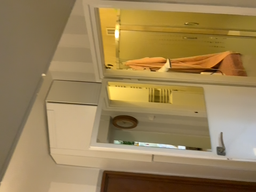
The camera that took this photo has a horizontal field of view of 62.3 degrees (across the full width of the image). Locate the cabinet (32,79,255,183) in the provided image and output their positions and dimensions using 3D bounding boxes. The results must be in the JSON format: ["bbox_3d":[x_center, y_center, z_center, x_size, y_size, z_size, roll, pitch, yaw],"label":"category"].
[{"bbox_3d":[0.530,0.370,1.980,0.730,2.460,0.540,91,-176,-54],"label":"cabinet"}]
